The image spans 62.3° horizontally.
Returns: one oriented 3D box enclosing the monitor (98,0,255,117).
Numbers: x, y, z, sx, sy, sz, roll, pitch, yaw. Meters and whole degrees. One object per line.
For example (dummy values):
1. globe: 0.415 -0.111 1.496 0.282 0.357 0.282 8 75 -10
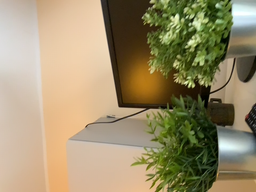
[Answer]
1. monitor: 0.120 -0.140 0.540 0.020 0.370 0.450 -68 -24 -52
